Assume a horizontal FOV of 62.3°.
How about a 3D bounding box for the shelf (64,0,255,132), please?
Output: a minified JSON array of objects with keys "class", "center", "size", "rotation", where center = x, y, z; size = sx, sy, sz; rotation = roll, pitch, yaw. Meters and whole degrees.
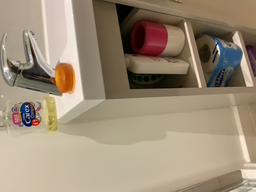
[{"class":"shelf","center":[0.230,-0.070,0.680],"size":[0.240,0.780,0.240],"rotation":[-27,69,56]}]
